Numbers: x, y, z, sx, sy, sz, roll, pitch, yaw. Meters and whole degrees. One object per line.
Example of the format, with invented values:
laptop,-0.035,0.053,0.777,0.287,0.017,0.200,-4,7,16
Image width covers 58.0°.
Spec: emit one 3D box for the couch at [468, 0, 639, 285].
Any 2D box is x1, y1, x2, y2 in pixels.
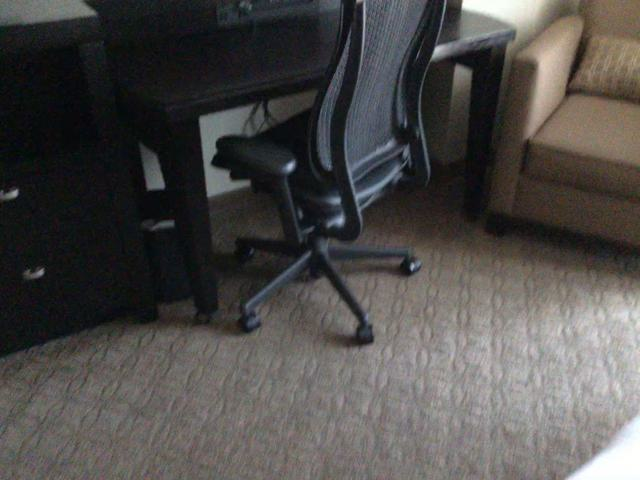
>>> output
couch,1.190,-0.490,2.140,0.850,0.850,1.020,18,37,27
